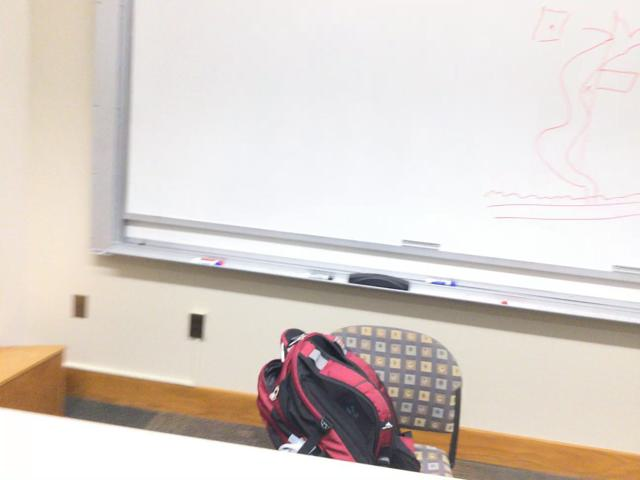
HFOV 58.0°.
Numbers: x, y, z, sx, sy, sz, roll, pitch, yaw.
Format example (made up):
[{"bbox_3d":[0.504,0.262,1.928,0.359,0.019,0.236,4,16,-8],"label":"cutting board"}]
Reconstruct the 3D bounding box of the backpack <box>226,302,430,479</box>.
[{"bbox_3d":[0.050,0.460,1.530,0.400,0.480,0.400,4,-17,17],"label":"backpack"}]

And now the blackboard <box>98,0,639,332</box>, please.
[{"bbox_3d":[0.650,-0.360,2.090,3.000,1.230,0.200,7,11,8],"label":"blackboard"}]
